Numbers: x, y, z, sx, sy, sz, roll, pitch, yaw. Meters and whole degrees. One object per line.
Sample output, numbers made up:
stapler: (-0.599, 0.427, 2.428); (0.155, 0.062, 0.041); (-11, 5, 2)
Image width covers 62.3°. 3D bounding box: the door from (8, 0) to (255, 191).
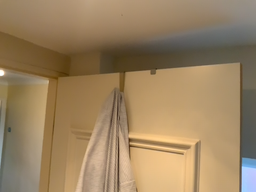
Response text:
door: (-0.160, 0.830, 0.820); (1.190, 2.250, 0.120); (0, -6, 37)
